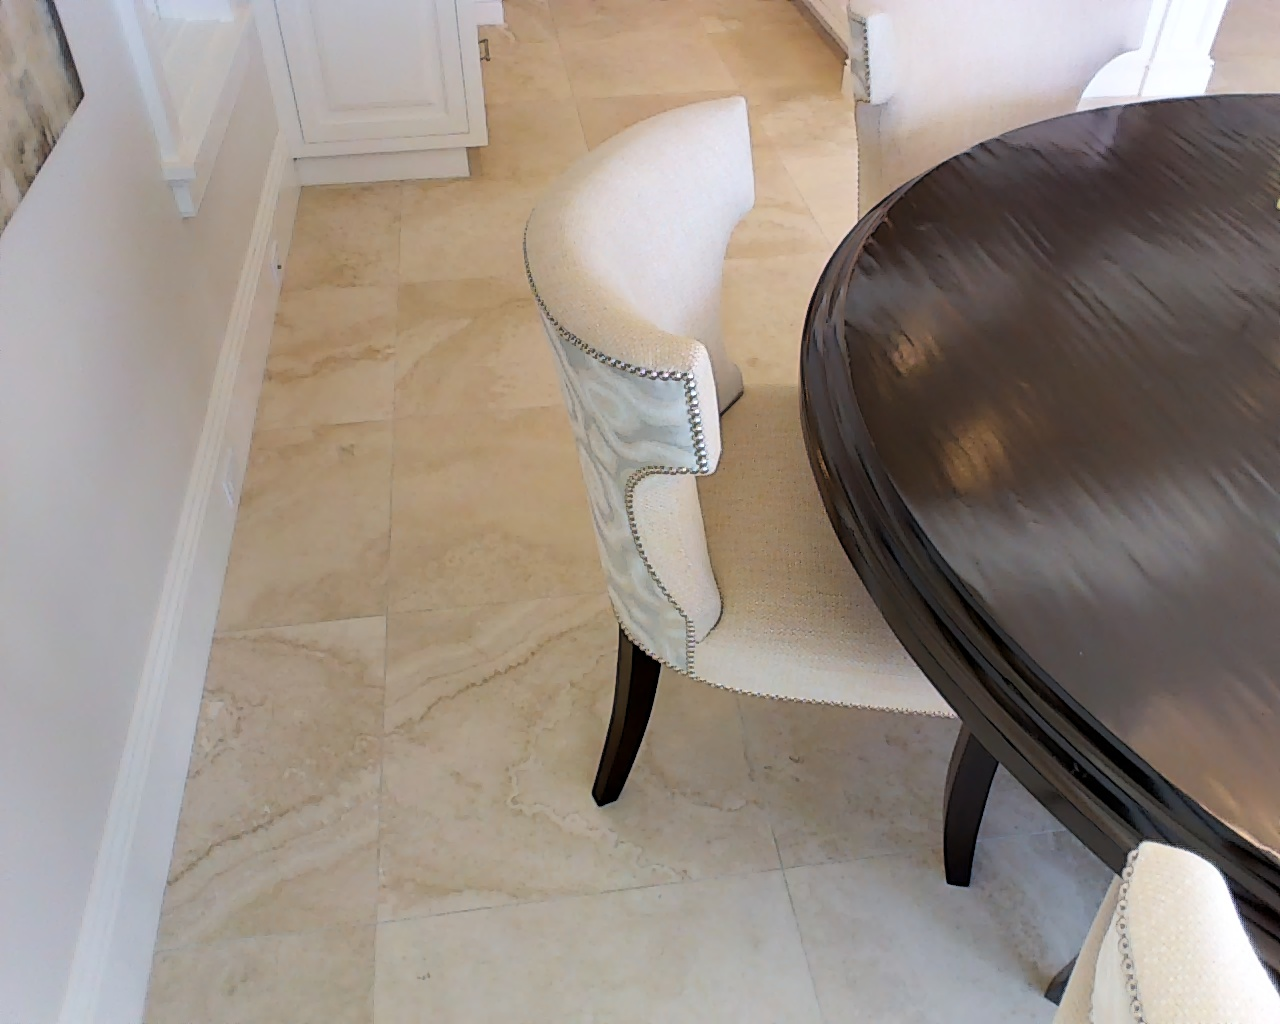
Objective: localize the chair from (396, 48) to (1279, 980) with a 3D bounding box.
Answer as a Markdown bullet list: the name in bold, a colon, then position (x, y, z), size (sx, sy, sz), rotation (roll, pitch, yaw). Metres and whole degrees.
- **chair**: position (0.230, 0.000, 1.540), size (0.780, 0.990, 0.780), rotation (7, 42, 7)
